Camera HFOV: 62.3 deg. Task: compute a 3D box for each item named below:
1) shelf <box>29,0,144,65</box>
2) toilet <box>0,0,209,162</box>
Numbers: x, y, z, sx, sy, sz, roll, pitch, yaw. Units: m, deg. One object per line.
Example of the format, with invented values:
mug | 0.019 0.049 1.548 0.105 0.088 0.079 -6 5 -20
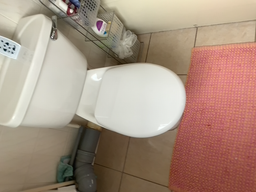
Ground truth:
shelf | -0.180 -0.440 1.310 0.200 0.780 0.190 1 74 32
toilet | -0.070 -0.020 1.090 0.730 0.770 0.530 3 76 33
